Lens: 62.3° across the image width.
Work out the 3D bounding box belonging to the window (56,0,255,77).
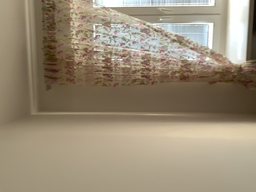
[{"bbox_3d":[0.250,-0.940,1.960,0.330,1.750,1.500,-69,-21,-82],"label":"window"}]
